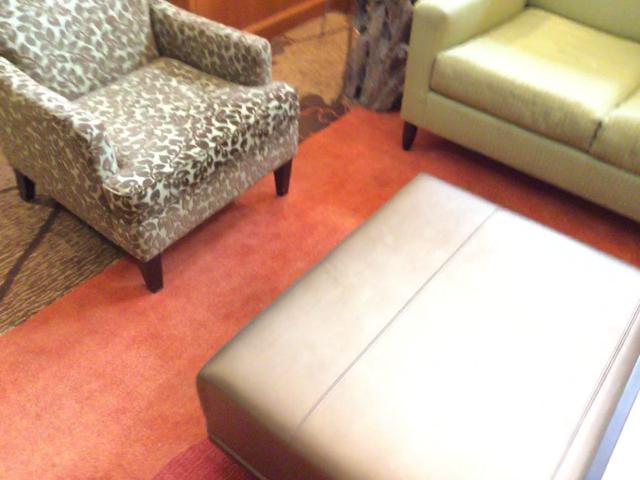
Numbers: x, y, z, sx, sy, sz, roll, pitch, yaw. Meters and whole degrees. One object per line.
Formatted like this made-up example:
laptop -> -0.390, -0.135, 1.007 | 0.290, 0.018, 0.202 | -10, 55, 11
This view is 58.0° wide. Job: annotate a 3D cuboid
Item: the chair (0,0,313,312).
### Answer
chair -> -0.620, -0.540, 1.840 | 0.900, 0.960, 0.790 | 31, 51, 28
